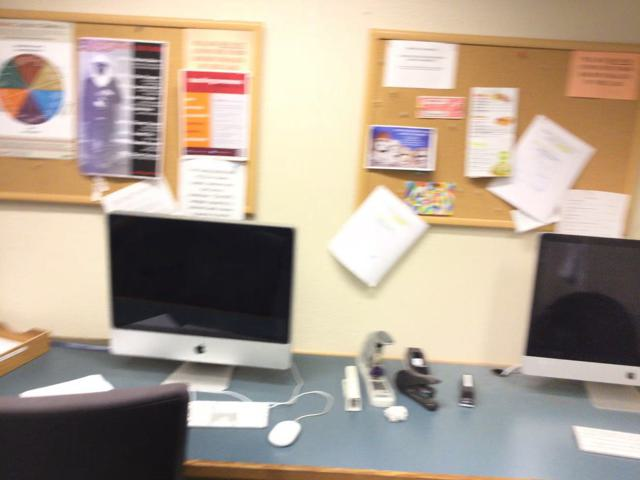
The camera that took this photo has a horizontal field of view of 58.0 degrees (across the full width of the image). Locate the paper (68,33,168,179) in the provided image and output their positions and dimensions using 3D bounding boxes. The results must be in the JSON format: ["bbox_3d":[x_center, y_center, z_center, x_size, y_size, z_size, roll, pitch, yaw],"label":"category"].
[{"bbox_3d":[-0.640,-0.420,1.840,0.290,0.430,0.060,3,10,0],"label":"paper"}]

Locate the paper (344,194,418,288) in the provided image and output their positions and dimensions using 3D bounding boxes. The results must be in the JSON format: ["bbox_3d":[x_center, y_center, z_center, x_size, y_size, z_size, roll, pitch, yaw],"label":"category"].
[{"bbox_3d":[0.200,0.000,1.920,0.230,0.300,0.070,3,-28,0],"label":"paper"}]

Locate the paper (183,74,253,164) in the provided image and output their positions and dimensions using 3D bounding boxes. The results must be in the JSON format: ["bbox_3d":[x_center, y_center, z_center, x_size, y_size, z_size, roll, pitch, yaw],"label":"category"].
[{"bbox_3d":[-0.330,-0.390,1.870,0.210,0.270,0.050,3,10,0],"label":"paper"}]
